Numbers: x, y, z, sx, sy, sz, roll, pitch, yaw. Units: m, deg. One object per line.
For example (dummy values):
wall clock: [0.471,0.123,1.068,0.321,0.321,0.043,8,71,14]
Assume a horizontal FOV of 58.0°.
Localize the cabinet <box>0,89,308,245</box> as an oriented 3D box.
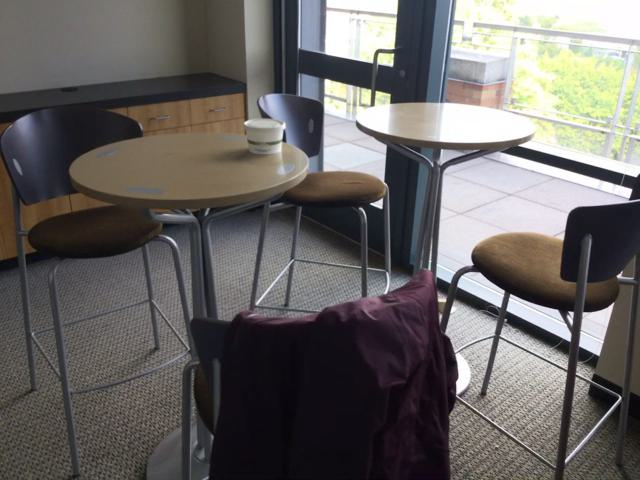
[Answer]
cabinet: [-1.350,-0.430,3.260,2.590,0.750,0.510,-5,17,-30]
